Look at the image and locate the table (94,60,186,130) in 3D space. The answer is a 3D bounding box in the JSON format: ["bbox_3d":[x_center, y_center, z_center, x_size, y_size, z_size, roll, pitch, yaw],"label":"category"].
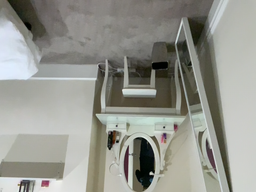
[{"bbox_3d":[0.150,0.000,2.750,1.030,0.780,0.470,0,160,3],"label":"table"}]
